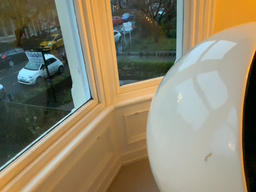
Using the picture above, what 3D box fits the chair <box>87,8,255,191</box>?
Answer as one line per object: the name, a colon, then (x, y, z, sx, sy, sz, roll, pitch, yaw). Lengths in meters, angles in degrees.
chair: (0.570, 0.240, 1.090, 1.070, 1.190, 0.870, -24, 31, -35)
